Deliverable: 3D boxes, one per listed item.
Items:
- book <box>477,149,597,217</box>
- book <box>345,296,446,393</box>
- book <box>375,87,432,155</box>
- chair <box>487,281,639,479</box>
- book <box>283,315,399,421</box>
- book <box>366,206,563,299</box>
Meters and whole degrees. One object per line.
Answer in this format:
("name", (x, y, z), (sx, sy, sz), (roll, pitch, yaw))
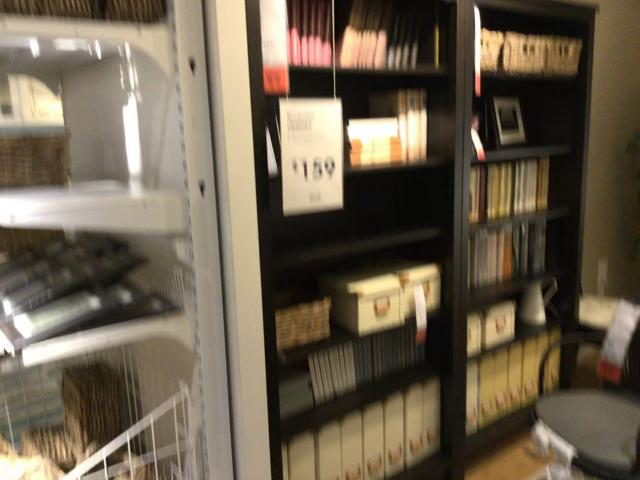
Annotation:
("book", (0.920, -0.250, 2.450), (0.400, 0.230, 0.280), (-10, 11, -29))
("book", (0.290, 0.390, 2.230), (0.280, 0.250, 0.250), (-10, 11, -29))
("book", (0.310, -0.440, 2.150), (0.130, 0.230, 0.150), (-10, 11, -29))
("chair", (0.920, 0.610, 1.790), (0.530, 0.800, 0.550), (-8, 10, -18))
("book", (0.070, 0.440, 2.060), (0.280, 0.230, 0.300), (-10, 11, -29))
("book", (0.660, 0.030, 2.610), (0.820, 0.240, 0.380), (-10, 11, -29))
